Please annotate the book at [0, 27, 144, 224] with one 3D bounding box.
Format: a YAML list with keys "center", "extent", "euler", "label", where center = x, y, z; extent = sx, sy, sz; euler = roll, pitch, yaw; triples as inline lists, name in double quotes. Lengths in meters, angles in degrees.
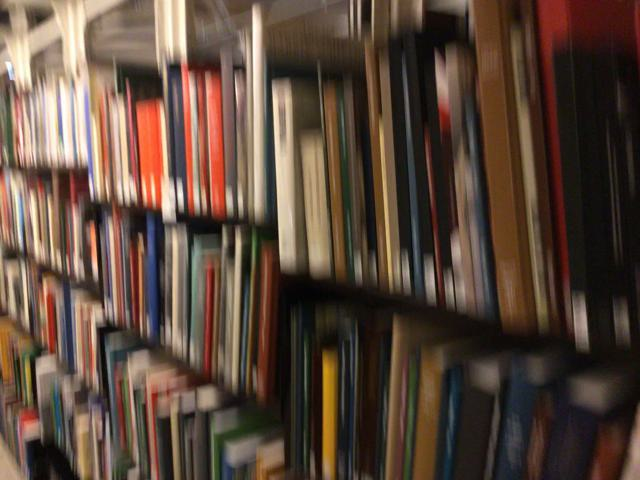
- center: [-1.730, -0.520, 2.890]
  extent: [0.230, 0.500, 3.500]
  euler: [-8, 12, -40]
  label: "book"

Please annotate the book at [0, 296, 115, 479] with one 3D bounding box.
- center: [-1.320, 0.630, 2.700]
  extent: [0.270, 0.480, 1.140]
  euler: [-8, 12, -40]
  label: "book"

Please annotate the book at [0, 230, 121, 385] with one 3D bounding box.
- center: [-1.270, 0.230, 2.550]
  extent: [0.310, 0.390, 1.180]
  euler: [-8, 12, -40]
  label: "book"

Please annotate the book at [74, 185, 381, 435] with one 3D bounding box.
- center: [-0.300, 0.080, 1.420]
  extent: [0.260, 0.370, 0.980]
  euler: [-8, 12, -40]
  label: "book"

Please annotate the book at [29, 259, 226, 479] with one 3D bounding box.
- center: [-0.660, 0.560, 1.920]
  extent: [0.310, 0.850, 0.800]
  euler: [-8, 12, -40]
  label: "book"

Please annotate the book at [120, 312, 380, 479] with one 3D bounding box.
- center: [-0.200, 0.470, 1.360]
  extent: [0.260, 0.420, 0.680]
  euler: [-8, 12, -40]
  label: "book"

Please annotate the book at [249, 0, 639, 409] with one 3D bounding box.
- center: [0.280, -0.100, 0.610]
  extent: [0.290, 0.410, 0.830]
  euler: [-8, 12, -40]
  label: "book"

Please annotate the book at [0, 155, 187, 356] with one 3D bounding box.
- center: [-1.110, -0.060, 2.390]
  extent: [0.290, 0.550, 1.770]
  euler: [-8, 12, -40]
  label: "book"

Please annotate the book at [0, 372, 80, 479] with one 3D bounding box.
- center: [-1.380, 0.990, 2.680]
  extent: [0.150, 0.390, 1.180]
  euler: [-8, 12, -40]
  label: "book"
